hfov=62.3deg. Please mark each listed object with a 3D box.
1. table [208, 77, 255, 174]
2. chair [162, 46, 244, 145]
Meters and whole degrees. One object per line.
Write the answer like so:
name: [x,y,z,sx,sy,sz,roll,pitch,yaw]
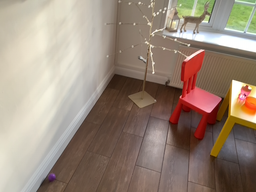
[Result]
table: [1.080,0.260,1.840,0.590,0.500,0.580,15,37,10]
chair: [0.660,-0.010,1.940,0.380,0.700,0.430,31,42,28]
